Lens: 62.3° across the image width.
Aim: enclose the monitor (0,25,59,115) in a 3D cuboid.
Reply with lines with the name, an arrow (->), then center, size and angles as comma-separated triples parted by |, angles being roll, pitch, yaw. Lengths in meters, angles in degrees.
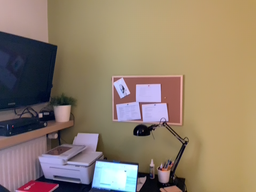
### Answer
monitor -> -0.790, -0.170, 1.510 | 0.030, 0.510, 0.800 | 0, -12, 19
